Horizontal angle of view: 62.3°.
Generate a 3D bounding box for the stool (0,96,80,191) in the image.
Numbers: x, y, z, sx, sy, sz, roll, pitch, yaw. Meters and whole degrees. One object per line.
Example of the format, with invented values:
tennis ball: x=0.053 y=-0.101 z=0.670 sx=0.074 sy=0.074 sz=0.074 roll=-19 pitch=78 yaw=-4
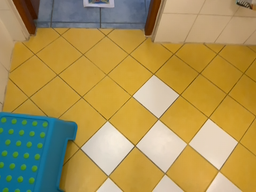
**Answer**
stool: x=-0.440 y=0.240 z=0.930 sx=0.370 sy=0.250 sz=0.400 roll=5 pitch=67 yaw=-4
